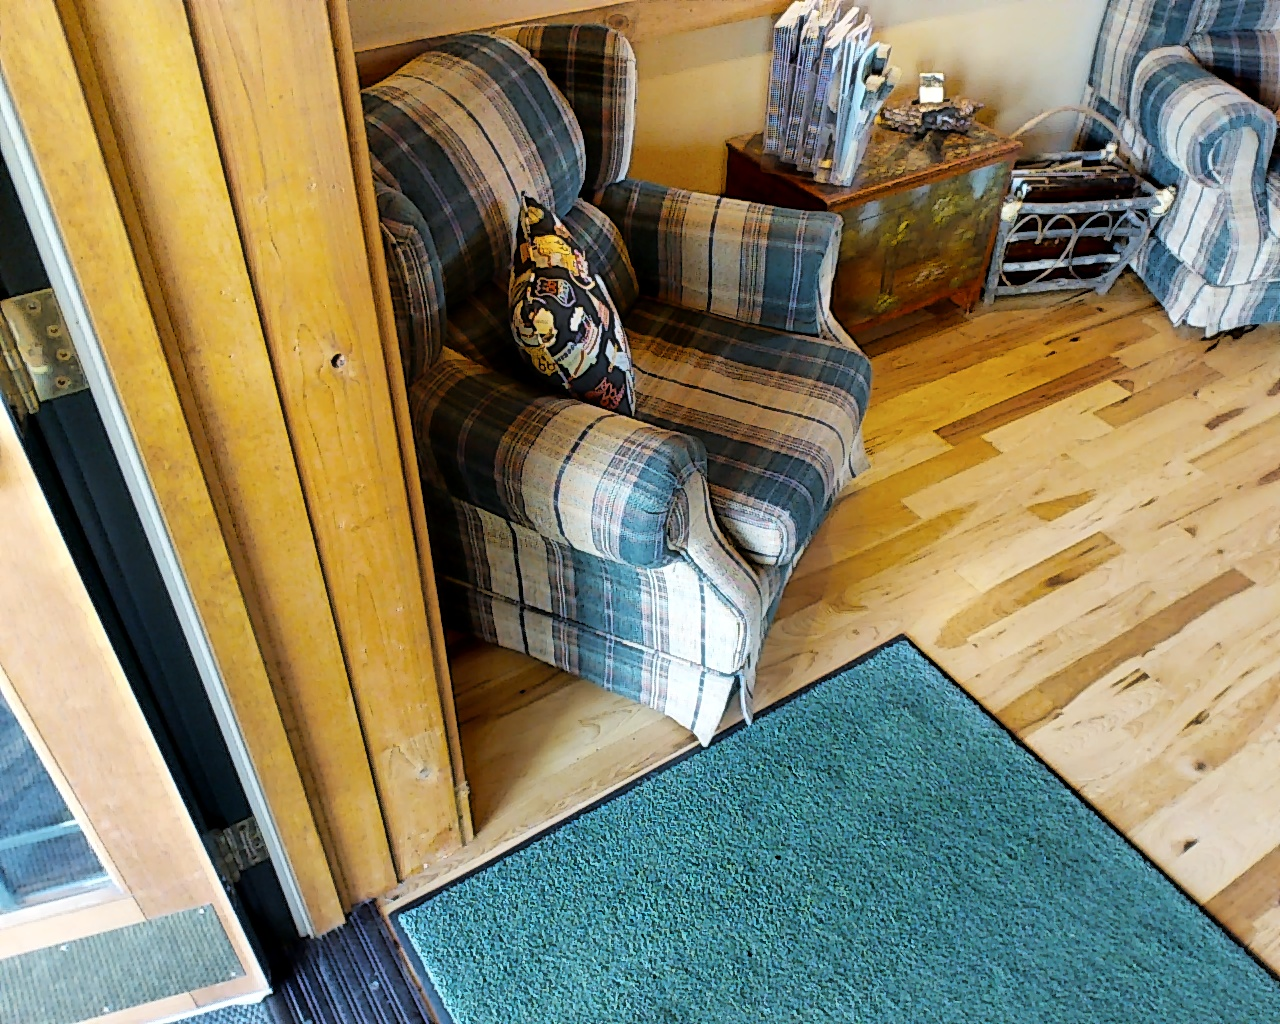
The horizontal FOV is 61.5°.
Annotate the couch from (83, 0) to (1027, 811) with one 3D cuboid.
[{"bbox_3d":[-0.010,-0.390,1.990,1.030,0.950,1.240,17,44,17],"label":"couch"}]

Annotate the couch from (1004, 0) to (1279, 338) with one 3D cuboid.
[{"bbox_3d":[1.890,-1.240,3.030,1.110,0.930,1.200,-4,42,-5],"label":"couch"}]
